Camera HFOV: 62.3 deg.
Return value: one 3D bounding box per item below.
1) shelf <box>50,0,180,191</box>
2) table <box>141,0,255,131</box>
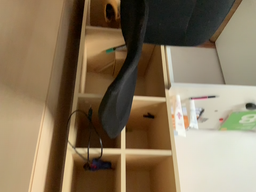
[{"bbox_3d":[-0.070,0.300,0.980,0.430,2.010,0.490,3,152,-7],"label":"shelf"},{"bbox_3d":[0.630,-0.220,1.360,0.980,0.740,0.510,3,152,-7],"label":"table"}]
